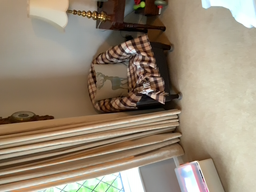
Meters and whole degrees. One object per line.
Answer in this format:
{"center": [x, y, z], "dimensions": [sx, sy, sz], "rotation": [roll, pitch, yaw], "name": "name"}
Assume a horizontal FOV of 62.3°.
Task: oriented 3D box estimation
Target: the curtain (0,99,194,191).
{"center": [-0.540, 0.450, 1.770], "dimensions": [0.540, 2.260, 0.590], "rotation": [-41, 58, 54], "name": "curtain"}

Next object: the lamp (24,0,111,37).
{"center": [-0.590, -0.790, 2.060], "dimensions": [0.370, 0.720, 0.310], "rotation": [35, 122, 54], "name": "lamp"}

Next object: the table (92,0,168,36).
{"center": [0.040, -1.160, 2.290], "dimensions": [0.450, 0.670, 0.910], "rotation": [30, 118, 56], "name": "table"}
